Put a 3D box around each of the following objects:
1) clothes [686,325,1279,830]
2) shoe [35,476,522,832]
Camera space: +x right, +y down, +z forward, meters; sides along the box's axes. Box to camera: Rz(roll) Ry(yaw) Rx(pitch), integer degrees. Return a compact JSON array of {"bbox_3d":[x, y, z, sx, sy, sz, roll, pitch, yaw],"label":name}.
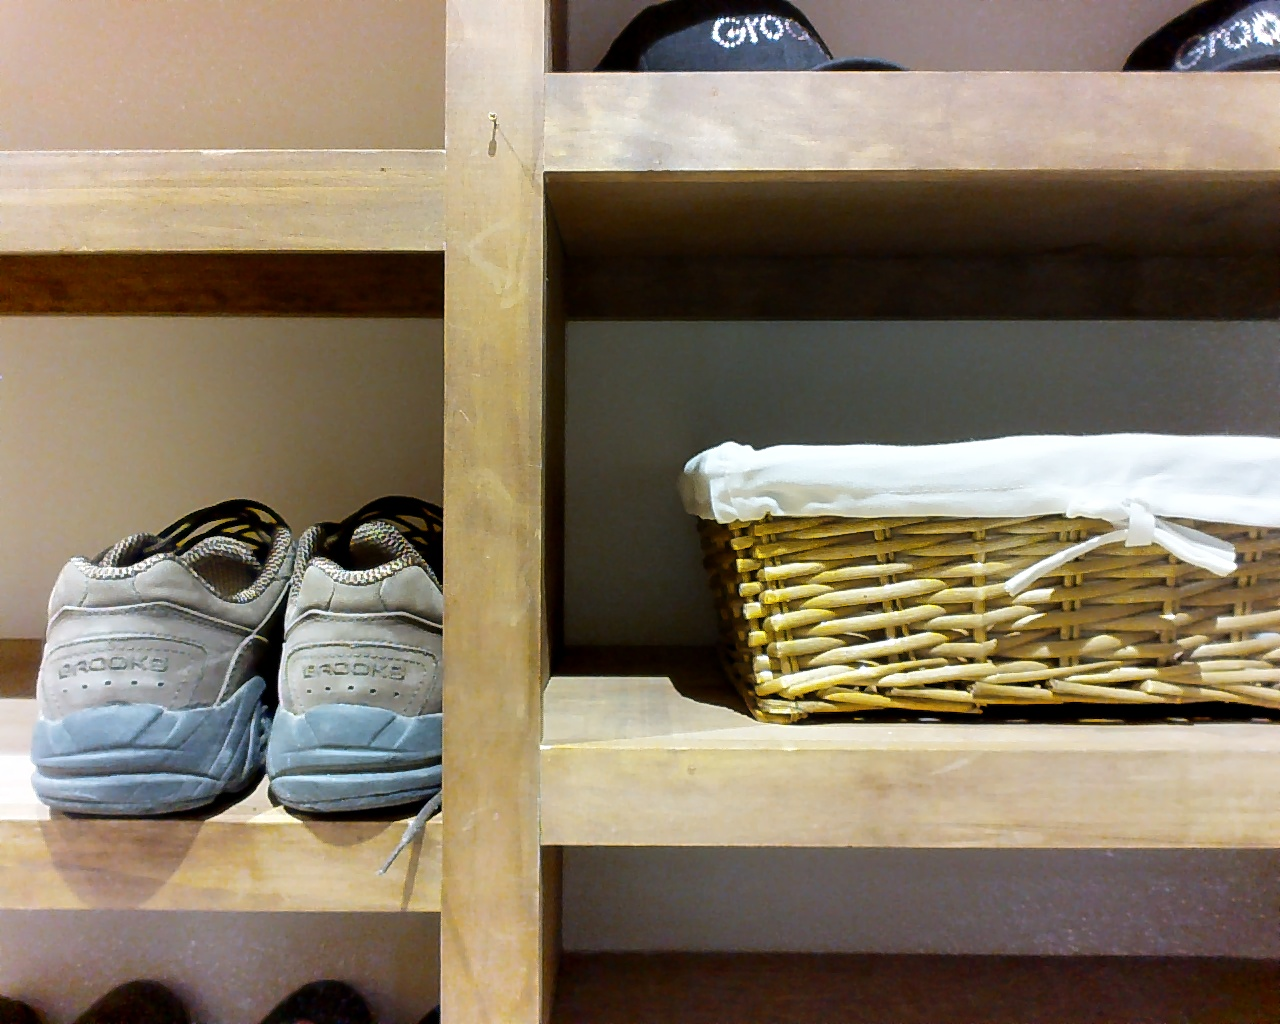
[{"bbox_3d":[0.230,0.030,0.530,0.410,0.230,0.070,0,0,-2],"label":"clothes"},{"bbox_3d":[-0.170,0.060,0.610,0.180,0.150,0.310,0,0,-2],"label":"shoe"}]
